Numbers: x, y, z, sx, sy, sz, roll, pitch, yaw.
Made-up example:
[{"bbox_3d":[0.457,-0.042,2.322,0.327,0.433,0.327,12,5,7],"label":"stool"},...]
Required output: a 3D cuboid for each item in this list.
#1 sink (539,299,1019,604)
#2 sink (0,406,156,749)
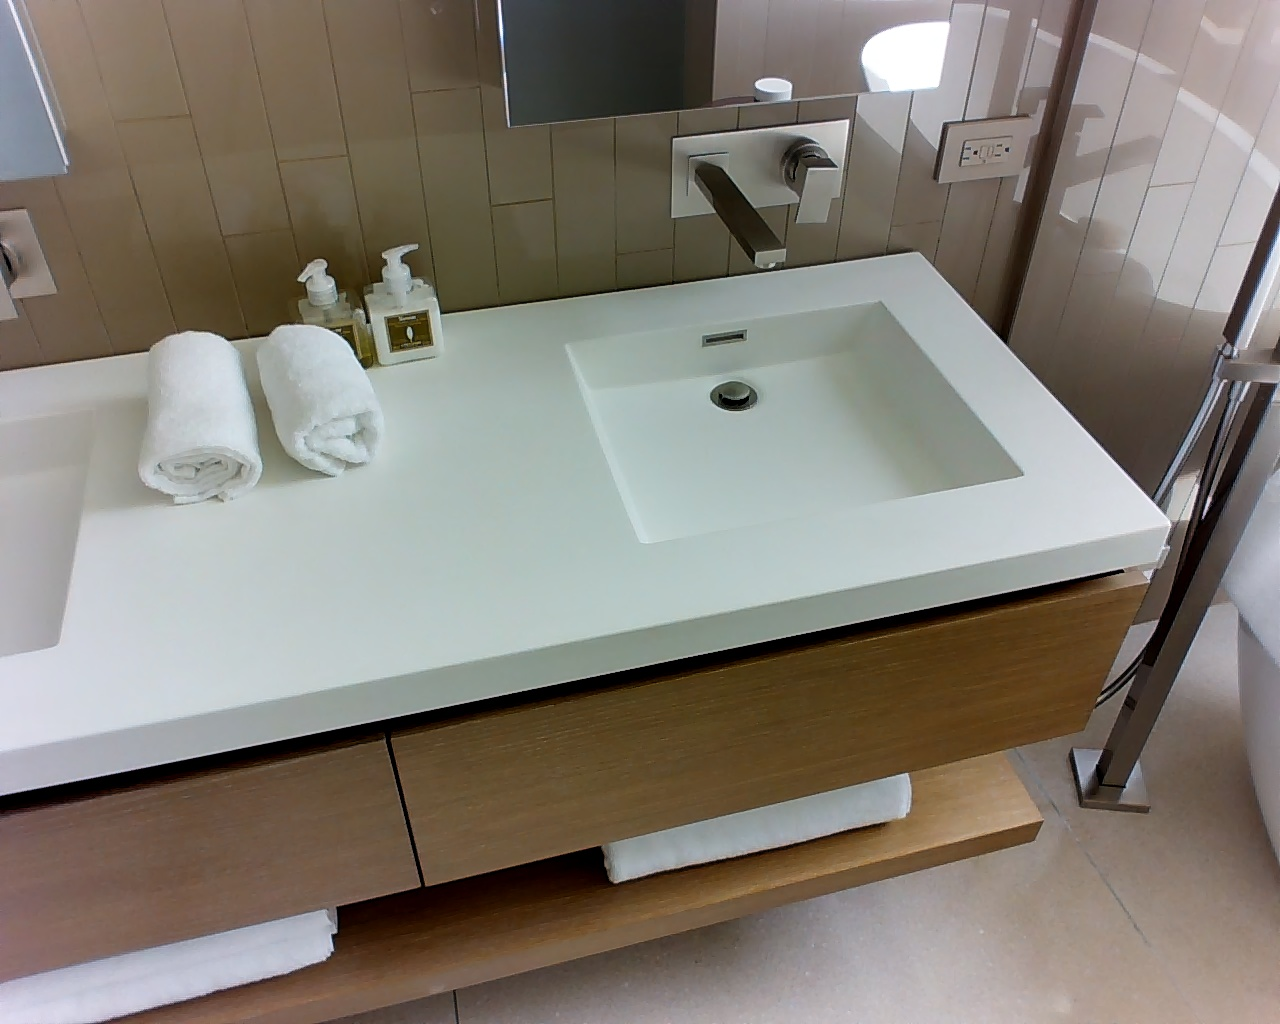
[{"bbox_3d":[0.130,-0.090,1.220,0.430,0.090,0.380,-8,40,-10],"label":"sink"},{"bbox_3d":[-0.730,0.070,1.050,0.430,0.090,0.400,-9,40,-11],"label":"sink"}]
